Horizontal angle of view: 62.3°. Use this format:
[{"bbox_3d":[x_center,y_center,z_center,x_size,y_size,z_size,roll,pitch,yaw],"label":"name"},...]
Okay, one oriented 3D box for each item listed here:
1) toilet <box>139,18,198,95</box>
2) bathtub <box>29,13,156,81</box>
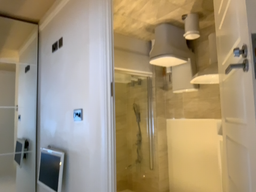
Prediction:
[{"bbox_3d":[0.550,-0.480,2.910,0.630,0.860,0.480,3,174,-40],"label":"toilet"},{"bbox_3d":[-0.490,-0.600,3.170,1.650,0.540,0.850,2,174,-37],"label":"bathtub"}]
